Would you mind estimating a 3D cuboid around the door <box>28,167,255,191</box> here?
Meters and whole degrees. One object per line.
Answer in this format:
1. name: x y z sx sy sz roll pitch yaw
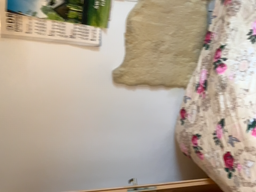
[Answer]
1. door: 0.040 0.820 1.780 0.880 2.110 0.120 121 145 -57
